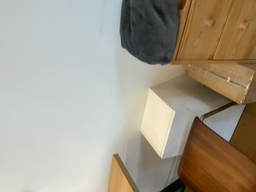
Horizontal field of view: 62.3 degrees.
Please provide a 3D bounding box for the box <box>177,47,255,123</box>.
[{"bbox_3d":[0.560,-0.090,1.150,0.420,0.360,0.230,47,135,52],"label":"box"}]

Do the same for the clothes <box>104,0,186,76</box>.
[{"bbox_3d":[0.050,-0.340,0.790,0.320,0.140,0.430,51,138,50],"label":"clothes"}]
